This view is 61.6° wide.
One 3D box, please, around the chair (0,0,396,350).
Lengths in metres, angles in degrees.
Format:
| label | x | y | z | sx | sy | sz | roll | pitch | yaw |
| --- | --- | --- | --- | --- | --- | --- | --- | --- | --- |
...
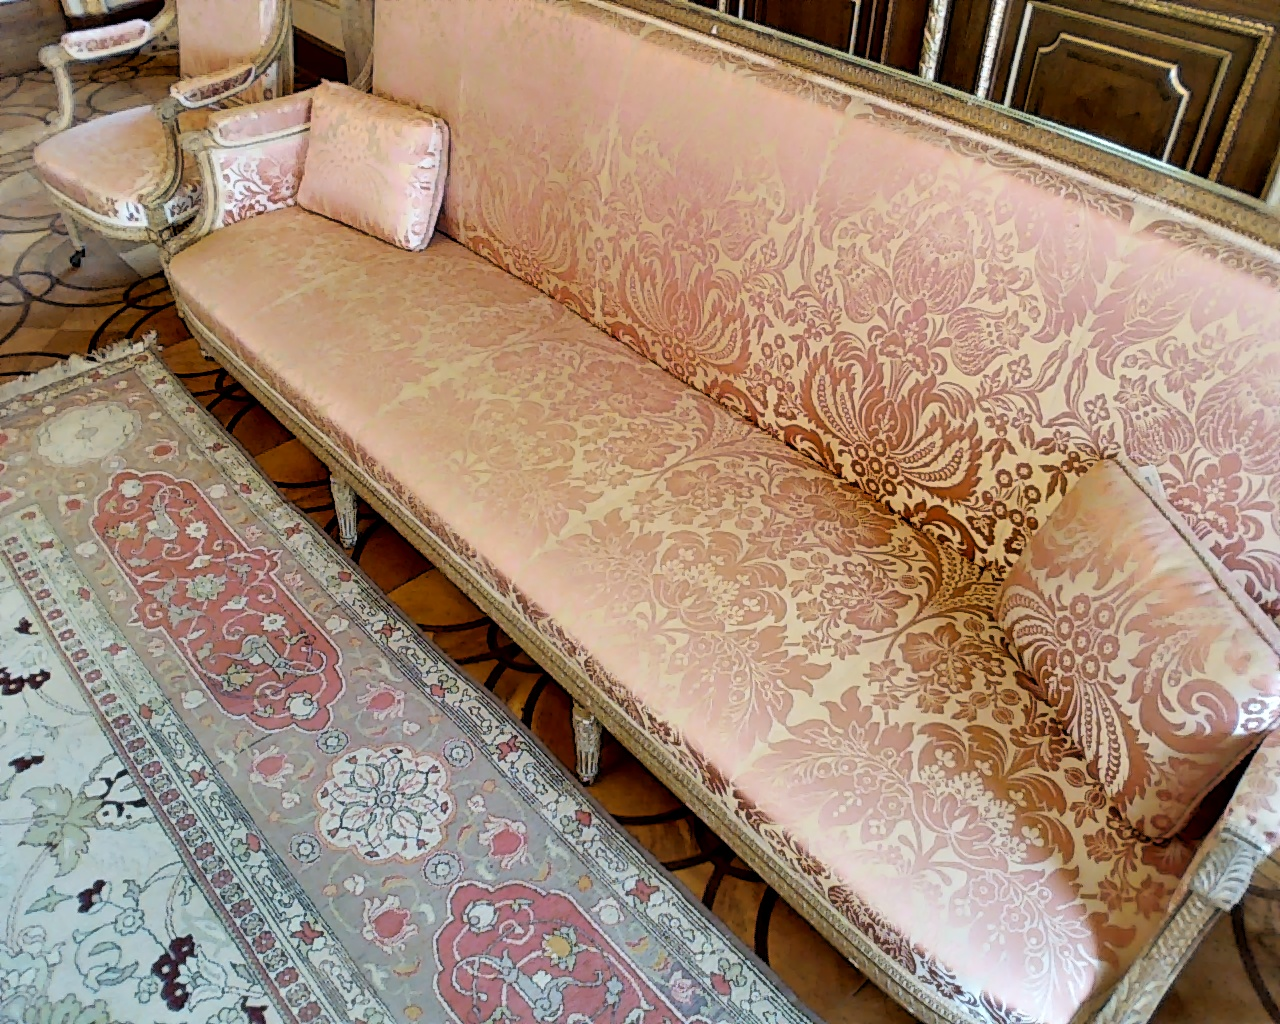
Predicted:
| label | x | y | z | sx | sy | sz | roll | pitch | yaw |
| --- | --- | --- | --- | --- | --- | --- | --- | --- | --- |
| chair | -1.310 | -1.170 | 3.130 | 0.770 | 0.970 | 0.700 | -33 | 52 | -32 |

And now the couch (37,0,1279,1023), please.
| label | x | y | z | sx | sy | sz | roll | pitch | yaw |
| --- | --- | --- | --- | --- | --- | --- | --- | --- | --- |
| couch | -0.050 | -0.300 | 2.110 | 0.870 | 1.110 | 2.890 | -31 | 50 | -30 |
